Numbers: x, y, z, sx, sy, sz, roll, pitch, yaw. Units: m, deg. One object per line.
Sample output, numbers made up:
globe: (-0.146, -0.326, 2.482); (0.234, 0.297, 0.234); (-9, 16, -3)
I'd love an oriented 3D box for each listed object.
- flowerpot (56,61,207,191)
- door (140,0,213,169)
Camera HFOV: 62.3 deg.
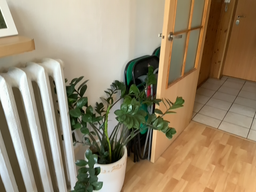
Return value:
flowerpot: (0.050, 0.310, 1.550); (0.560, 0.880, 0.830); (23, 32, 37)
door: (0.450, -0.410, 1.820); (0.140, 2.000, 0.860); (19, 30, 32)
